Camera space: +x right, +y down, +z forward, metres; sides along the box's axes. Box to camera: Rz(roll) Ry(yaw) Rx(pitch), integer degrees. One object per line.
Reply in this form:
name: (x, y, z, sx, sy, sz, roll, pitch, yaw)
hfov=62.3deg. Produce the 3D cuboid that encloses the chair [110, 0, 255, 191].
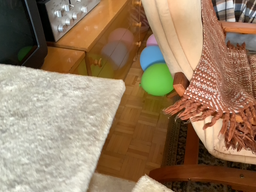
chair: (0.460, -0.120, 0.810, 0.840, 0.960, 0.680, 9, 43, 11)
